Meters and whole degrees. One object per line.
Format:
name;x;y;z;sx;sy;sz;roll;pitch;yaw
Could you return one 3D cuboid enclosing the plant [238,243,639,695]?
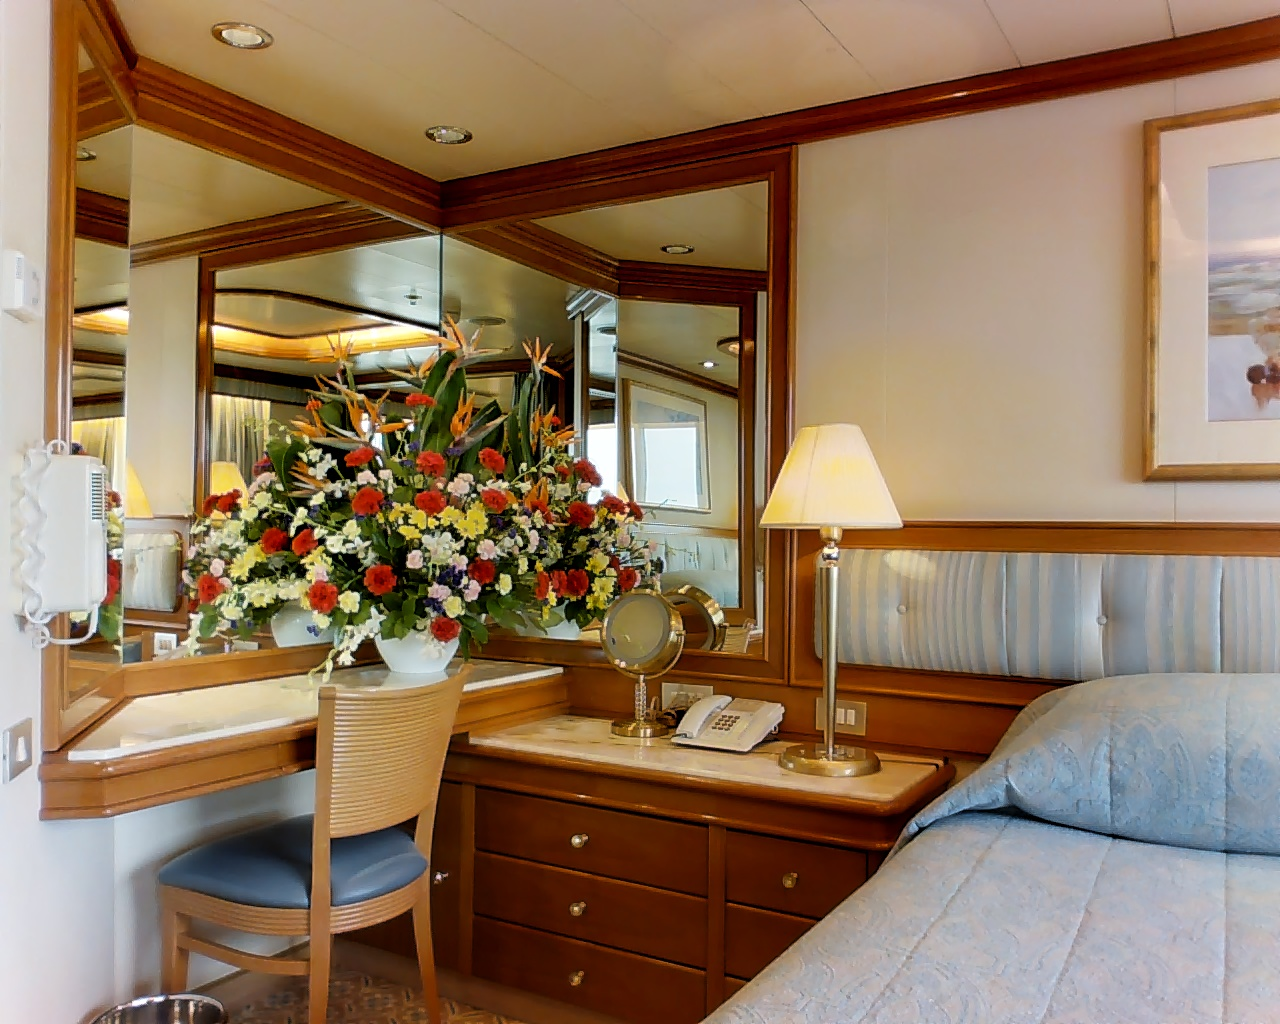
plant;-0.490;-0.090;2.770;0.660;0.950;0.780;0;0;32
